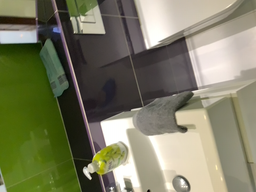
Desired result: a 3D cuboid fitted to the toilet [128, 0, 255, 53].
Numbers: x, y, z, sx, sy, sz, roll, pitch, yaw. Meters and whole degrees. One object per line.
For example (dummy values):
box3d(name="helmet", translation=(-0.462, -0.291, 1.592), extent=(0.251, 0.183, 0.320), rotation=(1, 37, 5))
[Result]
box3d(name="toilet", translation=(0.370, -0.500, 1.050), extent=(0.540, 0.480, 0.400), rotation=(-12, 93, 46))

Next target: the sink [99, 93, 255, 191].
box3d(name="sink", translation=(0.180, 0.330, 0.760), extent=(0.450, 0.200, 0.590), rotation=(-12, 93, 46))
